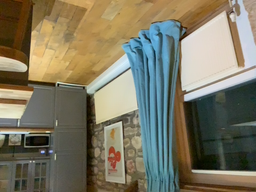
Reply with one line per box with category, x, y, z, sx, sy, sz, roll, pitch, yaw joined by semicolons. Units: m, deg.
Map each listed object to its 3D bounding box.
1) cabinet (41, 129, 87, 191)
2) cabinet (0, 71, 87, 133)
cabinet;-1.210;1.340;4.010;0.660;1.340;0.650;6;162;-30
cabinet;-1.700;0.190;4.030;1.680;0.940;0.700;6;162;-30
